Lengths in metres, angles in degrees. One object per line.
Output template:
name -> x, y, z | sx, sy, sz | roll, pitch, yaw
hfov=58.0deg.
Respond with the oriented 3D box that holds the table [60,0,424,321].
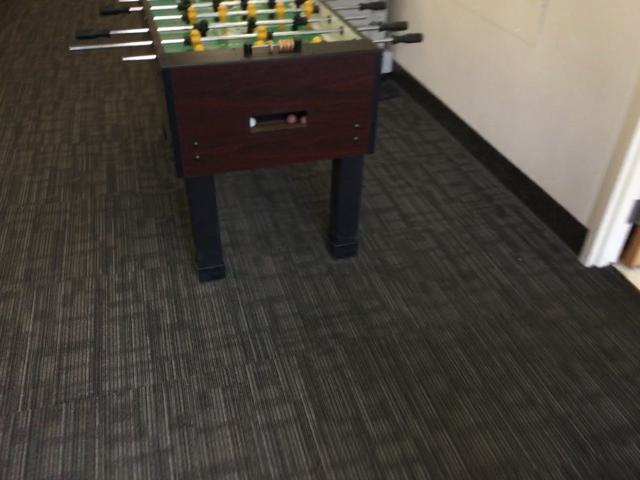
table -> -0.450, -0.650, 2.730 | 1.160, 1.130, 1.510 | -9, 39, -15
